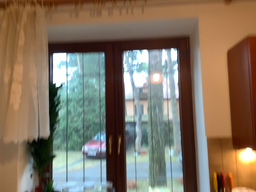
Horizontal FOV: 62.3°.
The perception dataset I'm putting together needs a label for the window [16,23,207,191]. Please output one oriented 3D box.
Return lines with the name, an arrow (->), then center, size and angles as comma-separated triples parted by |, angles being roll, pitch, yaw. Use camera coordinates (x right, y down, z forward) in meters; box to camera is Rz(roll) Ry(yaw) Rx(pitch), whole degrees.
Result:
window -> -0.160, 0.290, 1.910 | 1.540, 1.700, 0.350 | -2, -5, 5
